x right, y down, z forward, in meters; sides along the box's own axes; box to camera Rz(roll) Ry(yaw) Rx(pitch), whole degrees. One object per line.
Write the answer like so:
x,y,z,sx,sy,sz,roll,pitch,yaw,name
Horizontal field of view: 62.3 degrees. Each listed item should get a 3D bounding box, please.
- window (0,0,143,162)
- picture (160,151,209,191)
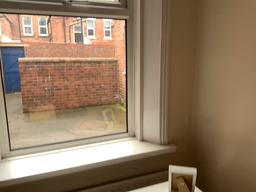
-0.360,-0.480,1.360,0.900,1.710,0.190,-4,11,-18,window
0.280,0.430,1.080,0.140,0.210,0.200,-5,12,-22,picture
